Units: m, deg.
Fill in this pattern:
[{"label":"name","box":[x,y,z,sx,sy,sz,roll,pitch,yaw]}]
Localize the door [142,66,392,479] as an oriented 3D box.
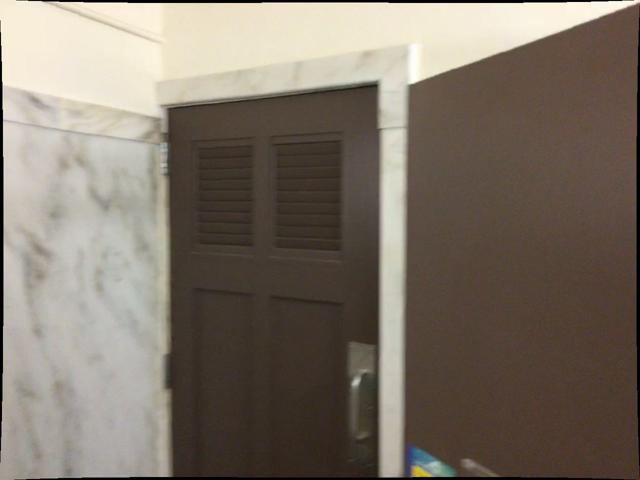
[{"label":"door","box":[-0.210,0.500,1.910,0.909,1.992,0.110,2,3,30]}]
